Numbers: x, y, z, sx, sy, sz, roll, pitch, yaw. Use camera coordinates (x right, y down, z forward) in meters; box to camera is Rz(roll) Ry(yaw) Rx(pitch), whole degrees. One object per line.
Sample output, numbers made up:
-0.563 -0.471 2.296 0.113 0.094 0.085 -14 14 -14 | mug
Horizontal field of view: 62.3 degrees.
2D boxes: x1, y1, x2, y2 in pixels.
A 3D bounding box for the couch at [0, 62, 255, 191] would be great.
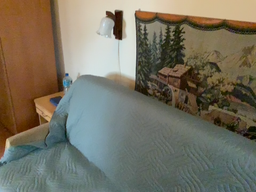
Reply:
0.090 0.610 1.070 1.010 0.930 2.070 -21 35 -40 | couch
